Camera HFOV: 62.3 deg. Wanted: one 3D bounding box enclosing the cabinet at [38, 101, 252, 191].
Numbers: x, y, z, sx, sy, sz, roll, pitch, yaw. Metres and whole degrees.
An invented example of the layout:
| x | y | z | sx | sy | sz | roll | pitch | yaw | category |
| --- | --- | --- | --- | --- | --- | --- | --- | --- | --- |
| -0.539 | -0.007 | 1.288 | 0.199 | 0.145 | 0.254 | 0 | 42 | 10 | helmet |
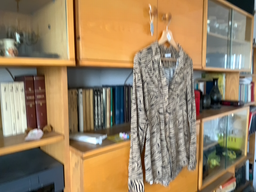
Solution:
| x | y | z | sx | sy | sz | roll | pitch | yaw | category |
| --- | --- | --- | --- | --- | --- | --- | --- | --- | --- |
| 0.330 | 0.350 | 1.450 | 1.690 | 0.480 | 0.390 | -5 | 7 | -42 | cabinet |
